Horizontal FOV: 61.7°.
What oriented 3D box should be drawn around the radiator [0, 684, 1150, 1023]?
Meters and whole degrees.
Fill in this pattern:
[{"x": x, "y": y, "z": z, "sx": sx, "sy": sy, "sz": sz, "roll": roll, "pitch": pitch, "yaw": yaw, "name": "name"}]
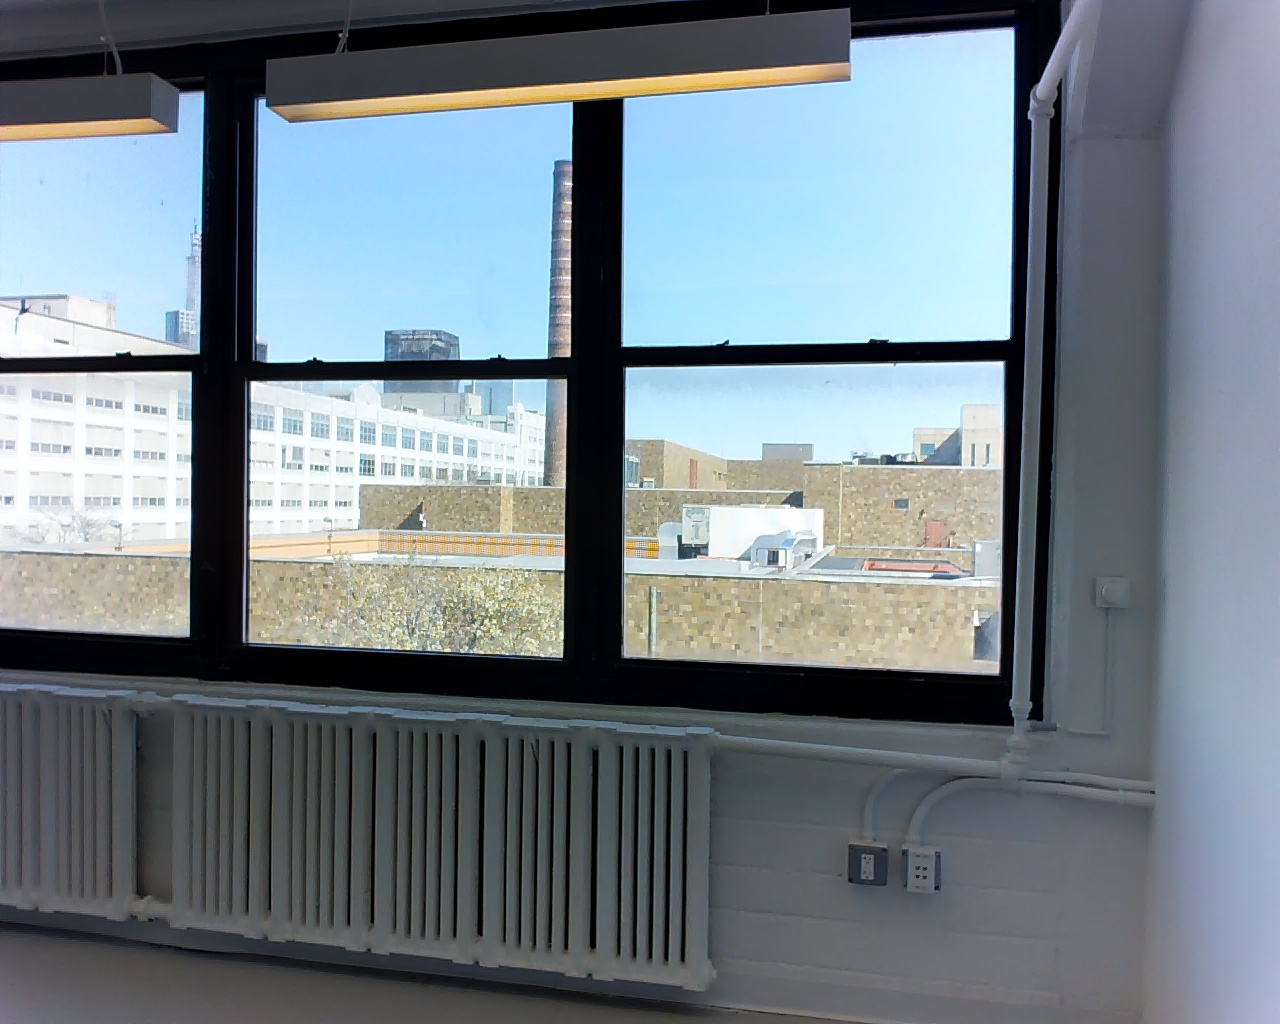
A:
[{"x": -1.070, "y": 1.010, "z": 3.280, "sx": 4.819, "sy": 0.820, "sz": 0.170, "roll": 1, "pitch": 0, "yaw": 13, "name": "radiator"}]
